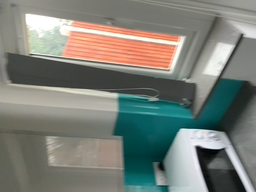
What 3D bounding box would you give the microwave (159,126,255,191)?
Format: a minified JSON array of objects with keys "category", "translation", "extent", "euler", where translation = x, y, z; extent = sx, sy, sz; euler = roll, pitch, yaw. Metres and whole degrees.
[{"category":"microwave","translation":[0.360,0.440,1.010],"extent":[0.440,0.260,0.360],"euler":[-96,15,-48]}]
